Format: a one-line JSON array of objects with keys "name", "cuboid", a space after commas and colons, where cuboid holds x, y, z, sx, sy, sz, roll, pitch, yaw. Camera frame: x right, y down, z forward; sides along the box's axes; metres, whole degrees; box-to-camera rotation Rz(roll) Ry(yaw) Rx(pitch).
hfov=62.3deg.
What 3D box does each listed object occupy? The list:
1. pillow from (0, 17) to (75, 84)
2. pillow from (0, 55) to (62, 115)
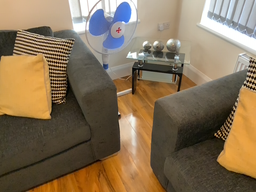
[{"name": "pillow", "cuboid": [-0.620, -0.270, 1.420, 0.460, 0.410, 0.160, 22, 77, -15]}, {"name": "pillow", "cuboid": [-0.690, -0.070, 1.360, 0.480, 0.400, 0.160, 24, 72, -10]}]
